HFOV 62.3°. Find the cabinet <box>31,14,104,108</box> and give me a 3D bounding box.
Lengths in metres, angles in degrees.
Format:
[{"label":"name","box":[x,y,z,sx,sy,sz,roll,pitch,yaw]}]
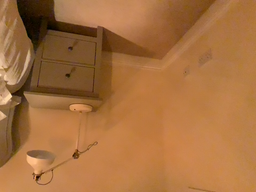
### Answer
[{"label":"cabinet","box":[-0.490,-0.260,1.790,0.480,0.610,0.400,6,162,-16]}]
